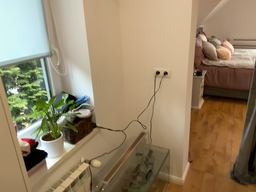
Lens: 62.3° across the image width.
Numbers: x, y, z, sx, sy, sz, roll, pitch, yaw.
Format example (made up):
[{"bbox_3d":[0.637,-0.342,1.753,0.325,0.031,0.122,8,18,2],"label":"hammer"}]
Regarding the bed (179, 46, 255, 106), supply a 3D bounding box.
[{"bbox_3d":[2.510,-0.560,4.700,2.170,0.700,2.240,9,24,26],"label":"bed"}]
